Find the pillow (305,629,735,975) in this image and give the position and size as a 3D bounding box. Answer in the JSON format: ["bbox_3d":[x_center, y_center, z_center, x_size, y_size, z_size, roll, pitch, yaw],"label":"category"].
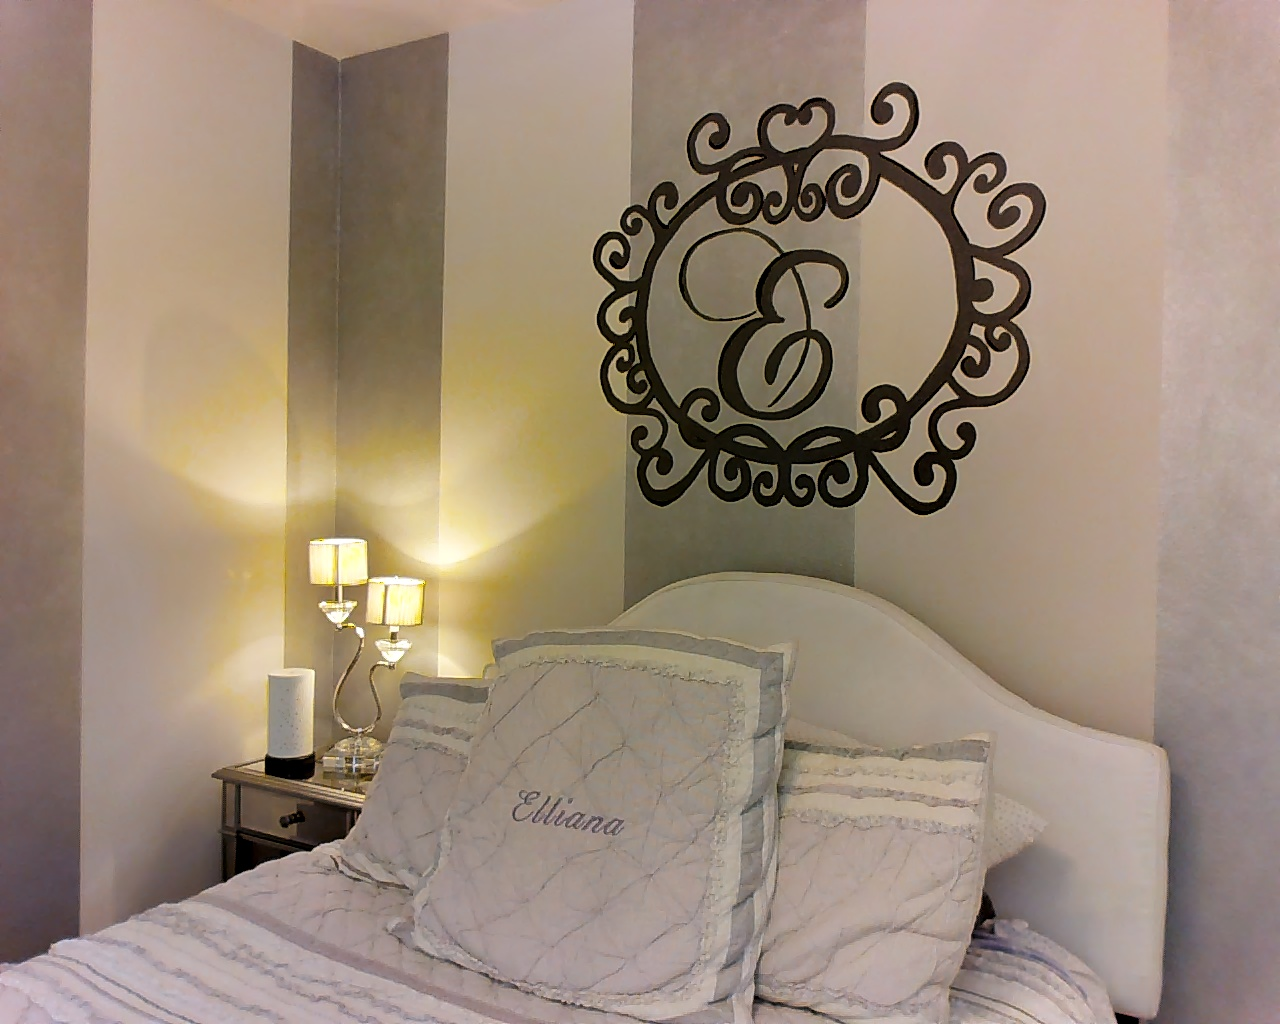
[{"bbox_3d":[-0.240,0.510,2.090,0.750,0.470,0.380,1,0,31],"label":"pillow"}]

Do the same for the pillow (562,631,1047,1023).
[{"bbox_3d":[0.230,0.560,1.690,0.620,0.440,0.140,39,19,25],"label":"pillow"}]

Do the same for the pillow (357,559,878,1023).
[{"bbox_3d":[-0.060,0.500,1.820,0.670,0.610,0.310,26,13,29],"label":"pillow"}]
